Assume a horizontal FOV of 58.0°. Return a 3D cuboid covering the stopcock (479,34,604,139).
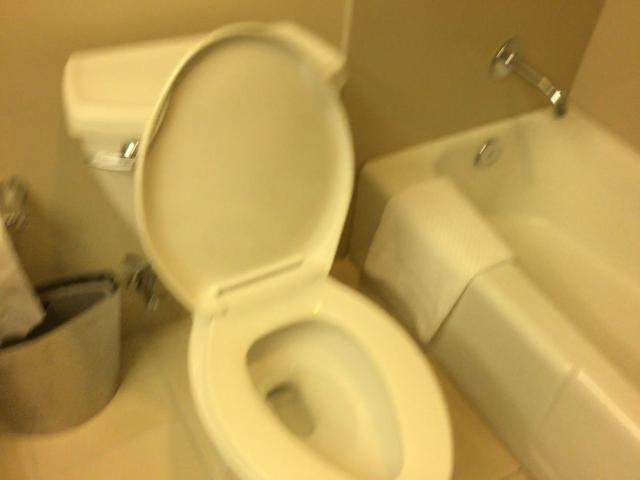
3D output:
[{"bbox_3d":[0.570,-0.400,1.500,0.240,0.180,0.130,-20,50,-24],"label":"stopcock"}]
